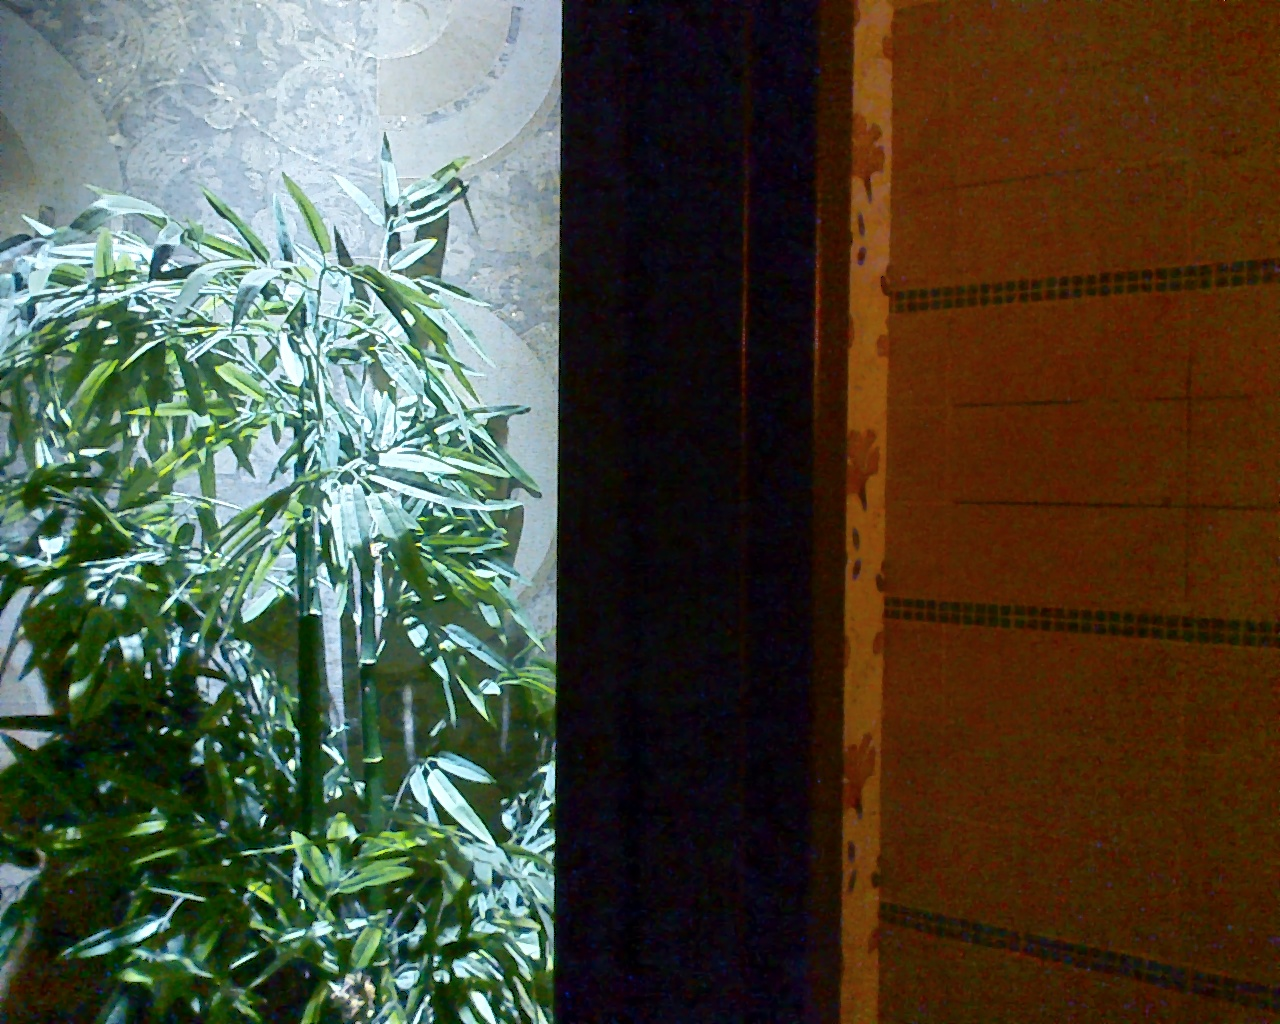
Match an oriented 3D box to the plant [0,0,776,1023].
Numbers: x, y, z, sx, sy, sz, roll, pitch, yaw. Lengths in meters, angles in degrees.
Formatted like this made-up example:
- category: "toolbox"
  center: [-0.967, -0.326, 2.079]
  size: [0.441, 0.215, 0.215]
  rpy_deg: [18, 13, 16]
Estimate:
- category: "plant"
  center: [-0.380, 0.590, 0.970]
  size: [0.740, 2.010, 0.690]
  rpy_deg: [0, 1, -19]
